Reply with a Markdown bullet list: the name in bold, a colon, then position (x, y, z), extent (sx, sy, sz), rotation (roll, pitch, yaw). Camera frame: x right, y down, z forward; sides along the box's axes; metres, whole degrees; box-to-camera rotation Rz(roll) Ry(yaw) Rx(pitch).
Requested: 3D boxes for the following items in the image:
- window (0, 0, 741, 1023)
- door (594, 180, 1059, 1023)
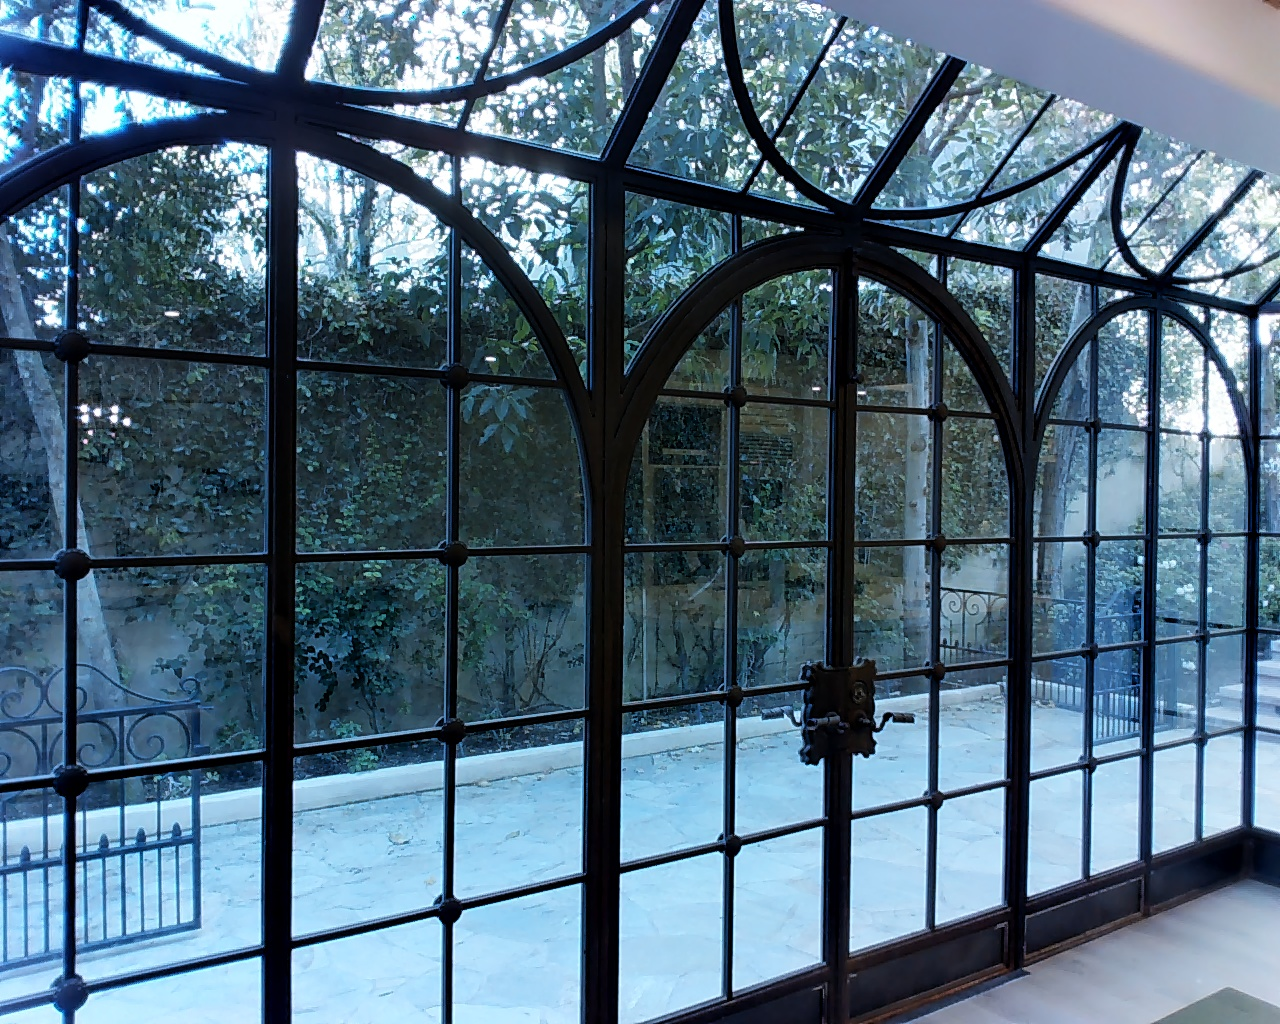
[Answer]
- **window**: position (-0.620, 0.240, 2.070), extent (1.620, 2.301, 0.560), rotation (0, 0, -34)
- **door**: position (0.640, 0.400, 3.160), extent (1.720, 2.411, 0.140), rotation (0, 0, -34)
